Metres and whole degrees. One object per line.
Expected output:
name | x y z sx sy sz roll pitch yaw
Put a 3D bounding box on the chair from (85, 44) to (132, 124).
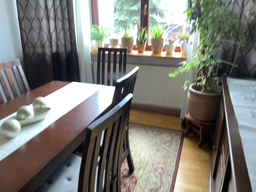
chair | -0.230 -0.180 2.990 0.560 1.020 0.490 1 22 3
